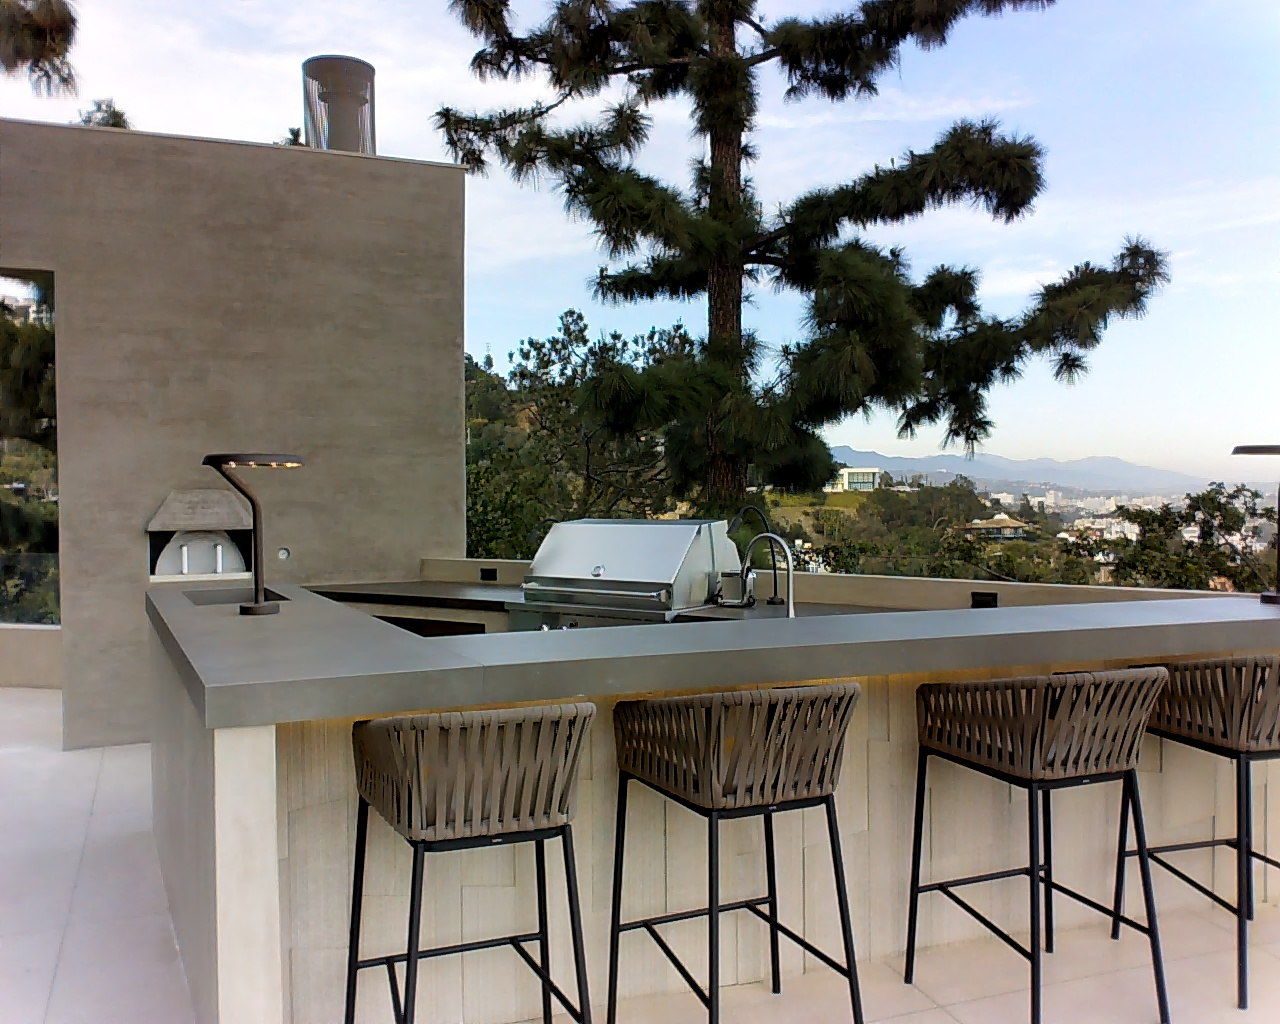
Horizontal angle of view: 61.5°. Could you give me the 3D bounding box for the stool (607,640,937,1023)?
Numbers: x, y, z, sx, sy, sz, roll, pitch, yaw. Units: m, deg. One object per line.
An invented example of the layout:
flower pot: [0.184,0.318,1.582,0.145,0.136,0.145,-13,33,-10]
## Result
stool: [0.330,0.930,2.920,0.650,1.050,0.670,-1,1,-20]

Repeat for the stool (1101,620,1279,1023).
stool: [1.960,0.950,3.460,0.570,1.110,0.710,-1,1,-13]

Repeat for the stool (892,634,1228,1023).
stool: [1.200,0.940,3.170,0.650,1.050,0.670,-1,1,-14]

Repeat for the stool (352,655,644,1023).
stool: [-0.380,0.940,2.690,0.580,1.040,0.660,-1,1,-21]
